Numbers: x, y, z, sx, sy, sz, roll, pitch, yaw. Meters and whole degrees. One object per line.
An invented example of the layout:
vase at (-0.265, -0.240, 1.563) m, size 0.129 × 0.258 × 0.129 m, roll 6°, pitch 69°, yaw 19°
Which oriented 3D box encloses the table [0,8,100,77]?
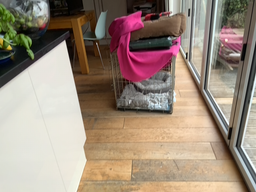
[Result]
table at (-1.430, -0.850, 3.300) m, size 1.750 × 0.760 × 0.920 m, roll -1°, pitch 29°, yaw 6°

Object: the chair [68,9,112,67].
chair at (-0.550, -0.890, 3.250) m, size 0.460 × 0.760 × 0.460 m, roll -1°, pitch 29°, yaw 6°

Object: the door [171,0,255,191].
door at (0.650, -0.650, 1.330) m, size 0.130 × 2.380 × 4.450 m, roll -2°, pitch 28°, yaw 5°
